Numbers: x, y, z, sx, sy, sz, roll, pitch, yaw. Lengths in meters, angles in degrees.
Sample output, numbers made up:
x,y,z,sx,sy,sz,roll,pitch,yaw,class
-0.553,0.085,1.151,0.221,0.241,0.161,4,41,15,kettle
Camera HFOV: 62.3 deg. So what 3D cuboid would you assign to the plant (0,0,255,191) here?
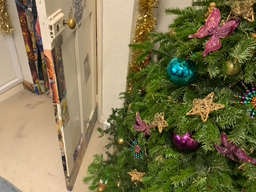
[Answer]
x,y,z,sx,sy,sz,roll,pitch,yaw,class
0.440,-0.090,1.060,1.330,1.950,1.390,20,40,17,plant
